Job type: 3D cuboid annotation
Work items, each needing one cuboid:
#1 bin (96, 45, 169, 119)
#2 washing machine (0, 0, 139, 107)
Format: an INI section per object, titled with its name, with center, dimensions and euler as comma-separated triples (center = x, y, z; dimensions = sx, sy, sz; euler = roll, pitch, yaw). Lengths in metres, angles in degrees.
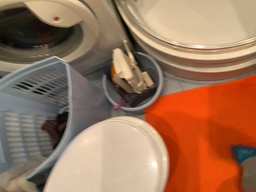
[bin]
center = 0.030, -0.060, 1.100
dimensions = 0.270, 0.180, 0.250
euler = -27, 75, 8
[washing machine]
center = -0.410, -0.370, 0.910
dimensions = 0.610, 0.890, 0.510
euler = -26, 75, 8
